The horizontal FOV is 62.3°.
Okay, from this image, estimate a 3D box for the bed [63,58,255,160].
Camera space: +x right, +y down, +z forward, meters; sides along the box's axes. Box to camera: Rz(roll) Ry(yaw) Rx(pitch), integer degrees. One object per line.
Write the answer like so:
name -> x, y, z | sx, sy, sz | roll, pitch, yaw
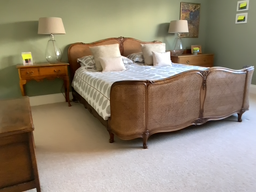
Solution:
bed -> 0.290, -0.120, 3.150 | 1.980, 0.620, 2.160 | -9, 17, -27
